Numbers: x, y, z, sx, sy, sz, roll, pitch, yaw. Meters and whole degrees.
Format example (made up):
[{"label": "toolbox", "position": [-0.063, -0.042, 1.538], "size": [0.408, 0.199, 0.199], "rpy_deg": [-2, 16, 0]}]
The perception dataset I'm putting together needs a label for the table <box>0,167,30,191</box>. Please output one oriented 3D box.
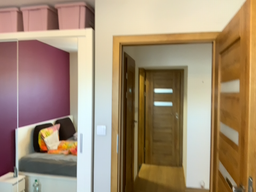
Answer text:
[{"label": "table", "position": [-1.590, 1.280, 2.920], "size": [0.320, 0.460, 0.300], "rpy_deg": [1, 1, 14]}]
